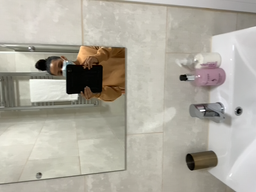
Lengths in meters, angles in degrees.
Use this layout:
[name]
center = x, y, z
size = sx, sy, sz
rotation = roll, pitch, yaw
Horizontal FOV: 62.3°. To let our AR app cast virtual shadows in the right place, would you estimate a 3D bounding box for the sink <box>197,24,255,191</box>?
[sink]
center = 0.450, 0.070, 0.670
size = 0.430, 0.220, 0.550
rotation = -155, 64, -74
